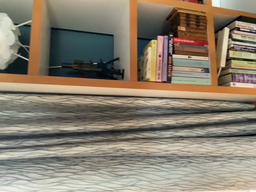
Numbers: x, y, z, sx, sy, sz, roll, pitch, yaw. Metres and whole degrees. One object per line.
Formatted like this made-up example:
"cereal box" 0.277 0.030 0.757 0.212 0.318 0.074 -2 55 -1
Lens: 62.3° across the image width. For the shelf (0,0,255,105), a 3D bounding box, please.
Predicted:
"shelf" -0.260 -0.460 1.130 0.420 2.100 0.910 152 120 -72
